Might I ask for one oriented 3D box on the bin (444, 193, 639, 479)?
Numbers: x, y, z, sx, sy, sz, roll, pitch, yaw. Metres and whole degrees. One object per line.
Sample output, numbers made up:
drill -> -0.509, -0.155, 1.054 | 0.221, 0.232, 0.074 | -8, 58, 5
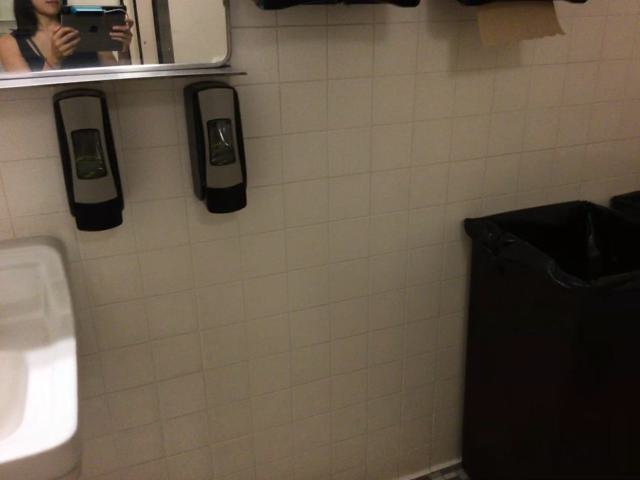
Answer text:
bin -> 0.660, 0.350, 1.520 | 0.460, 0.810, 0.430 | -10, 22, -19
